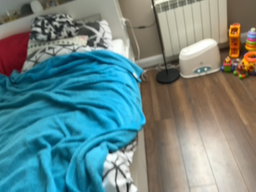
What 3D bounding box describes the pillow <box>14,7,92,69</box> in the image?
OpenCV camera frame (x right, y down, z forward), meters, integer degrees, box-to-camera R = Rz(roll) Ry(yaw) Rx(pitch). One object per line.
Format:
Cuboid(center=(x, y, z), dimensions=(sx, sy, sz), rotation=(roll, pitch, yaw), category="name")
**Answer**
Cuboid(center=(-0.550, -0.460, 1.680), dimensions=(0.460, 0.280, 0.410), rotation=(1, 49, -3), category="pillow")
